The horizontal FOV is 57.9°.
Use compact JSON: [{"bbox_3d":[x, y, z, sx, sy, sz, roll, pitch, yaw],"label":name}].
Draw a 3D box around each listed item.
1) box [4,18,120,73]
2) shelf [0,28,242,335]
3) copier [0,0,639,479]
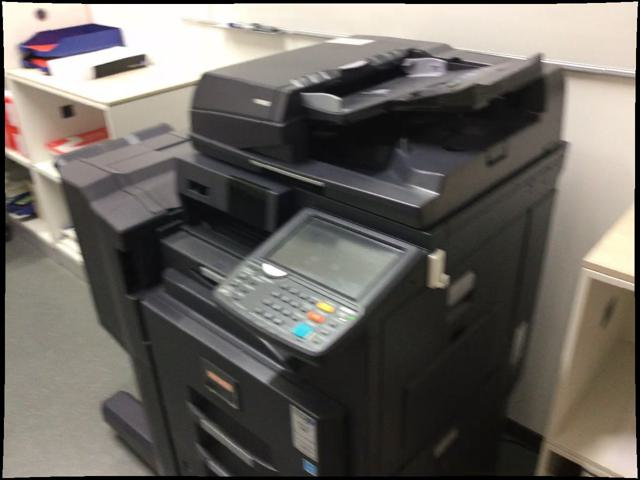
[{"bbox_3d":[-1.019,-0.781,2.300,0.230,0.130,0.330,22,37,35],"label":"box"},{"bbox_3d":[-0.829,-0.280,2.360,0.870,0.961,0.470,22,37,35],"label":"shelf"},{"bbox_3d":[-0.060,0.100,1.500,1.219,1.191,0.890,22,37,35],"label":"copier"}]
